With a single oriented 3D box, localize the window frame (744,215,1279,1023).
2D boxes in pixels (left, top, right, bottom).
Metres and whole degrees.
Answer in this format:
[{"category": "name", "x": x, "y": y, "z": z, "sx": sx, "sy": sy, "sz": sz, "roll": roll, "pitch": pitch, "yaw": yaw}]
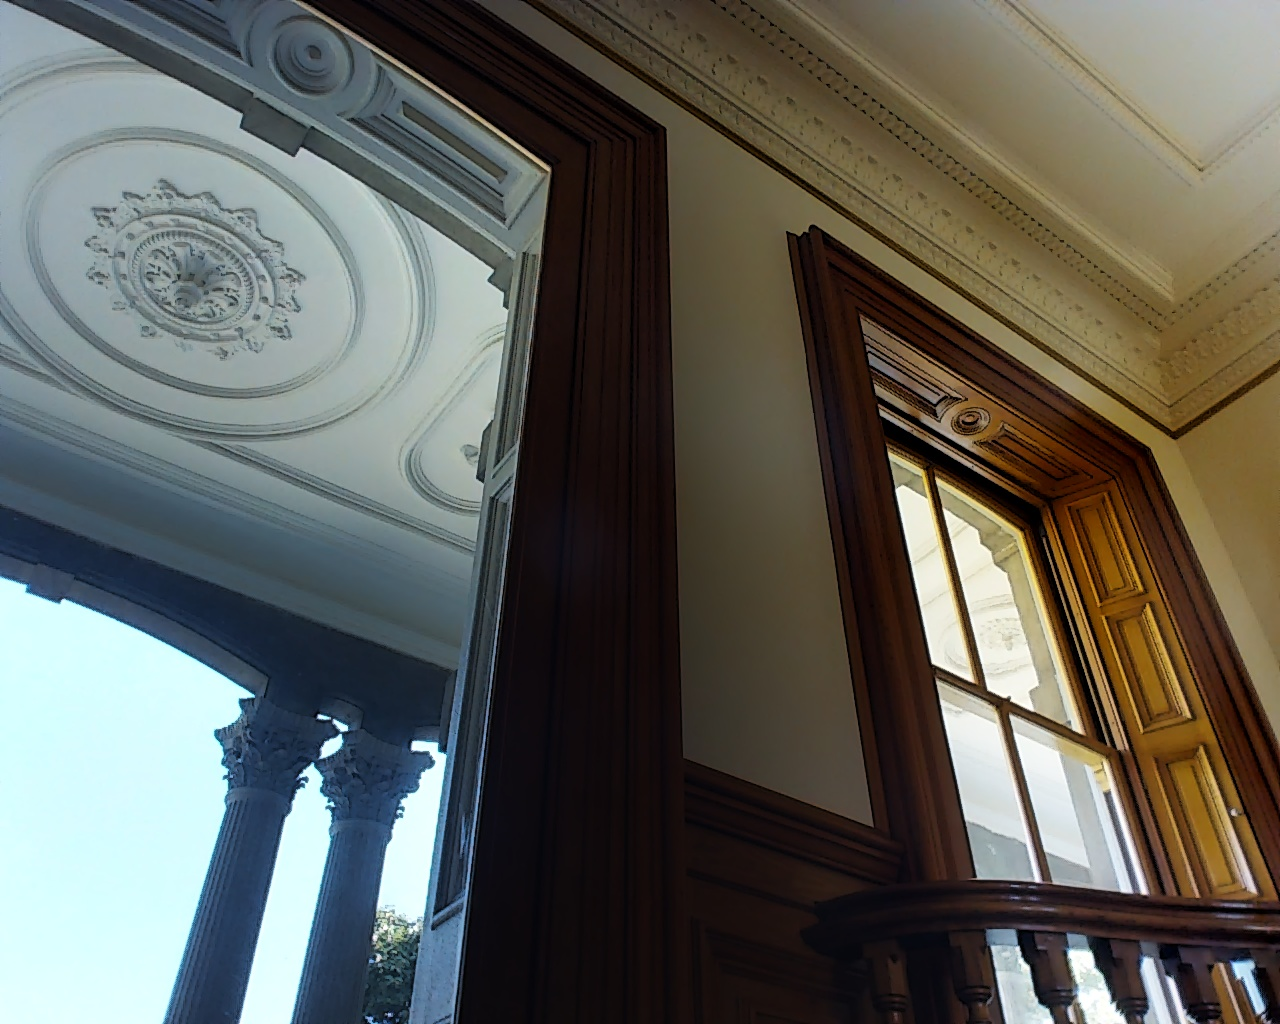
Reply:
[{"category": "window frame", "x": 1.319, "y": 0.700, "z": 3.360, "sx": 1.950, "sy": 3.461, "sz": 0.460, "roll": 25, "pitch": -47, "yaw": -25}]
